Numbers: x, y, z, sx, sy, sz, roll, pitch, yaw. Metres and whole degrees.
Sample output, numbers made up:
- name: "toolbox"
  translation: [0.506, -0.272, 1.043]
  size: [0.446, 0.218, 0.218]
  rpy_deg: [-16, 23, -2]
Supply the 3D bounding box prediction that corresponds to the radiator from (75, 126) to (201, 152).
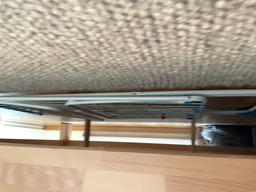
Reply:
- name: "radiator"
  translation: [0.070, 0.510, 2.580]
  size: [1.540, 0.260, 0.160]
  rpy_deg: [-2, 168, 19]
